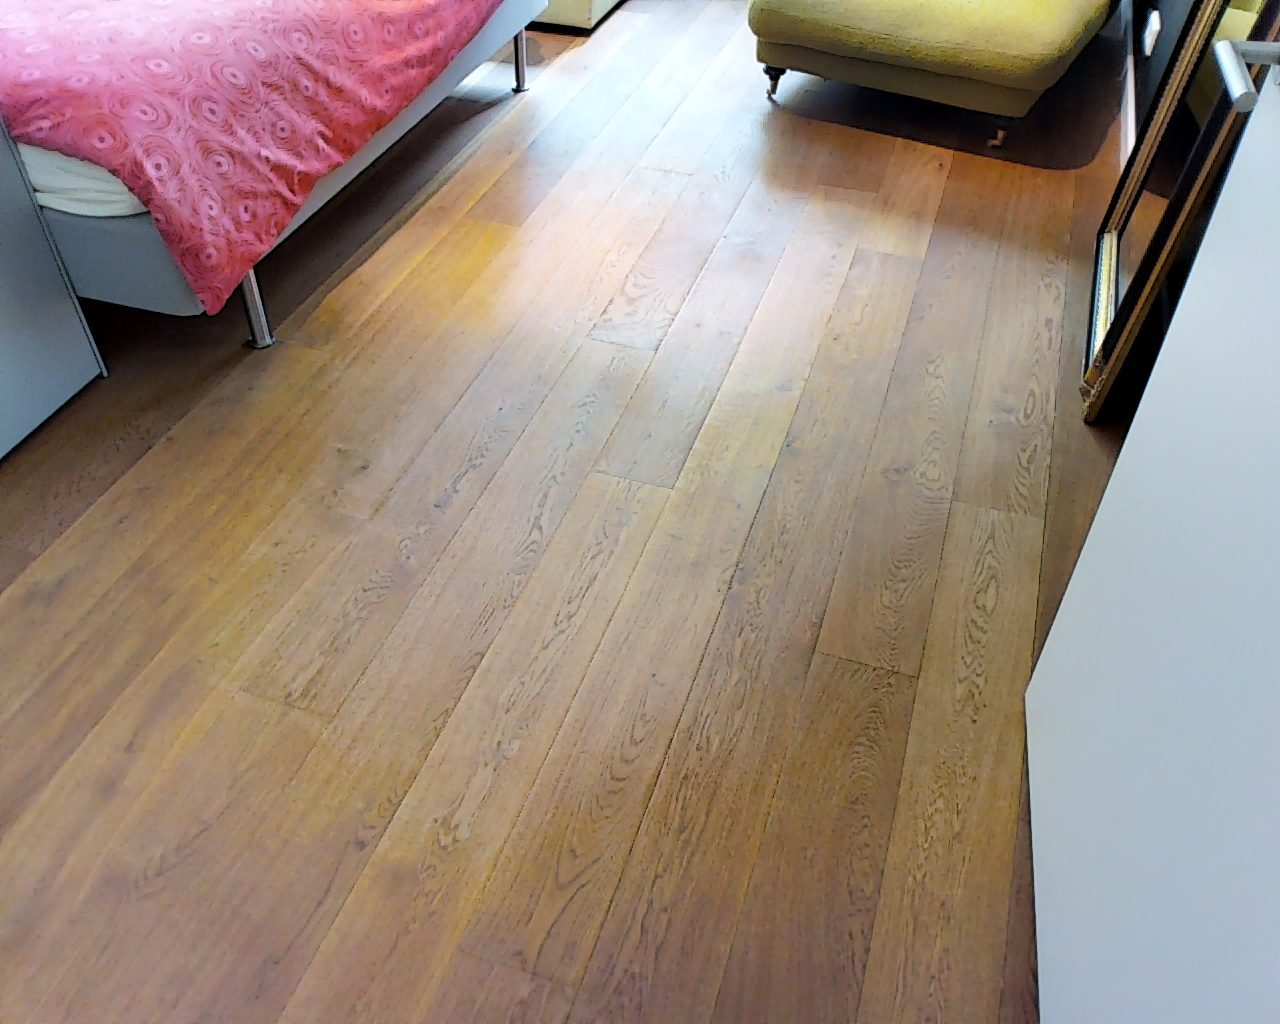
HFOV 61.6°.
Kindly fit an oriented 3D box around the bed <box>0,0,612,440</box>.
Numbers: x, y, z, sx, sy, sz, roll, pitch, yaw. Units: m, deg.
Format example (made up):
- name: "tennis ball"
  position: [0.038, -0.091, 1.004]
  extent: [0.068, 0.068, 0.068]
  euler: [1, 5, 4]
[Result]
- name: "bed"
  position: [-0.970, -1.320, 2.820]
  extent: [1.100, 0.910, 2.220]
  euler: [13, 44, 13]
